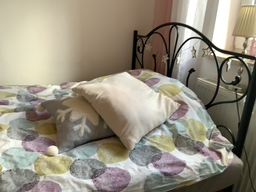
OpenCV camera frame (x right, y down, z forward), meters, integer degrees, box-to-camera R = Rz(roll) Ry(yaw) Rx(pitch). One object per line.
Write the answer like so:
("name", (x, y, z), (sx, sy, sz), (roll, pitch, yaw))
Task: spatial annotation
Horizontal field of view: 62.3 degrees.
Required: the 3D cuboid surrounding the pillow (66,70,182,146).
("pillow", (-0.020, 0.020, 1.090), (0.440, 0.180, 0.380), (-15, 27, -42))
